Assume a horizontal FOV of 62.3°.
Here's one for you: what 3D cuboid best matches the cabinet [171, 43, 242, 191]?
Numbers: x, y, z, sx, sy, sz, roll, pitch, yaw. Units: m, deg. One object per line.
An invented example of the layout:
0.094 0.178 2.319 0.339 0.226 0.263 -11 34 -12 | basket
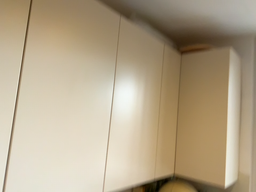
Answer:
0.590 0.140 1.570 0.370 0.940 0.320 0 -7 38 | cabinet
